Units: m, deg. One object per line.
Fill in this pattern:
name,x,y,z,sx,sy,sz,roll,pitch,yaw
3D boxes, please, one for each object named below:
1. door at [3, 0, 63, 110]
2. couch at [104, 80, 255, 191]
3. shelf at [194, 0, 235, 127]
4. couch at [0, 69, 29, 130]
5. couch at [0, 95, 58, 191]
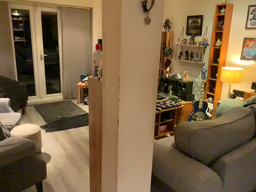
door,-1.950,-0.830,4.500,0.980,2.190,0.100,-8,19,-31
couch,0.880,0.470,2.240,2.010,0.920,1.010,-10,20,-36
shelf,1.450,-0.500,3.640,0.190,2.060,0.330,-9,20,-35
couch,-2.300,0.020,3.590,0.850,0.840,0.780,1,16,-3
couch,-1.200,0.540,1.870,0.750,0.850,0.750,12,19,31
